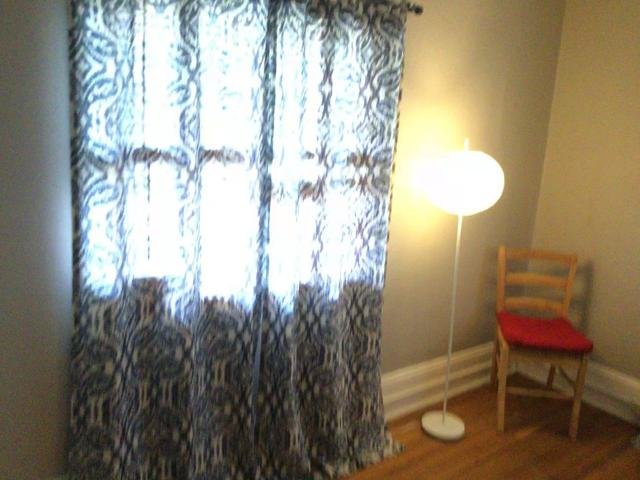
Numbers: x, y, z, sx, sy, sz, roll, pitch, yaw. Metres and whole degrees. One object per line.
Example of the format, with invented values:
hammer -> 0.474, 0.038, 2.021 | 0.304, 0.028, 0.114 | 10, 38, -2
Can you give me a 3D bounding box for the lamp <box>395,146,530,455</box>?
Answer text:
lamp -> 0.670, 0.260, 2.800 | 0.370, 1.390, 0.400 | -7, 14, -35
